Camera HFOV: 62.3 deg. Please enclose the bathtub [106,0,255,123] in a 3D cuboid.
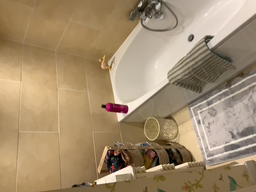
[{"bbox_3d":[0.500,-0.450,1.860,1.650,0.570,0.740,-42,51,43],"label":"bathtub"}]
